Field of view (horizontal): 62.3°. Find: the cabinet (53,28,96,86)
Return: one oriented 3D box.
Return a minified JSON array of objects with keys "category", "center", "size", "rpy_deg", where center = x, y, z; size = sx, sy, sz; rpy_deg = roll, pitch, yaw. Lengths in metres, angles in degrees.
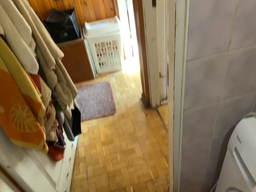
[{"category":"cabinet","center":[-0.620,-0.460,2.500],"size":[0.330,0.490,0.390],"rpy_deg":[-14,41,-5]}]

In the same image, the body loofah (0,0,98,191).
[{"category":"body loofah","center":[-0.430,0.030,1.170],"size":[0.190,1.560,0.600],"rpy_deg":[-9,40,0]}]
